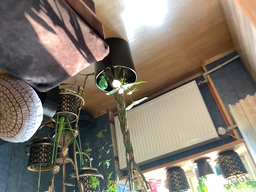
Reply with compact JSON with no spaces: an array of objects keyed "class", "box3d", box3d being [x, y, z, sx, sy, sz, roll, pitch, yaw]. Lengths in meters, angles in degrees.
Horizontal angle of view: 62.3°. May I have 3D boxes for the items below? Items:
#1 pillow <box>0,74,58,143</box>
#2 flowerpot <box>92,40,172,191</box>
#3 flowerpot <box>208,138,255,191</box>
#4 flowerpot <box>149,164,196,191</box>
[{"class":"pillow","box3d":[-0.630,0.080,1.210,0.330,0.310,0.200,-5,151,33]},{"class":"flowerpot","box3d":[-0.040,0.270,1.620,0.330,1.210,0.710,-6,147,-7]},{"class":"flowerpot","box3d":[0.870,0.640,1.680,0.250,0.520,0.180,-23,146,19]},{"class":"flowerpot","box3d":[0.460,0.970,1.930,0.240,0.570,0.450,-26,144,23]}]
